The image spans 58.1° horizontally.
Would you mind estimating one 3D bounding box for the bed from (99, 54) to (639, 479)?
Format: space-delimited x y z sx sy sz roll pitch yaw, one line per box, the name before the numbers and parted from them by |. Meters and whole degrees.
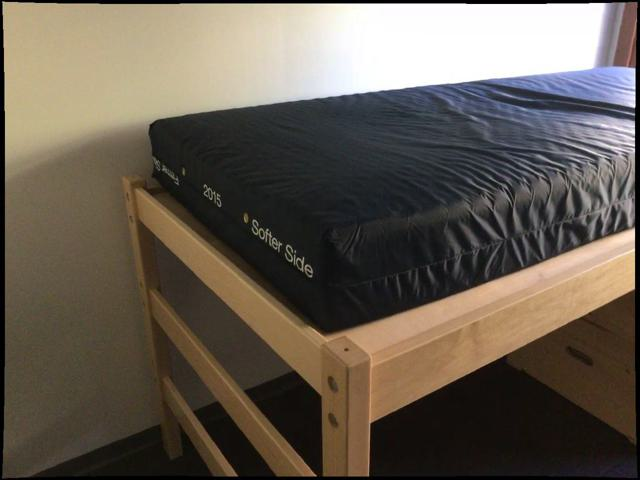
bed | 0.648 0.100 1.880 2.216 1.092 1.069 -16 28 -30
